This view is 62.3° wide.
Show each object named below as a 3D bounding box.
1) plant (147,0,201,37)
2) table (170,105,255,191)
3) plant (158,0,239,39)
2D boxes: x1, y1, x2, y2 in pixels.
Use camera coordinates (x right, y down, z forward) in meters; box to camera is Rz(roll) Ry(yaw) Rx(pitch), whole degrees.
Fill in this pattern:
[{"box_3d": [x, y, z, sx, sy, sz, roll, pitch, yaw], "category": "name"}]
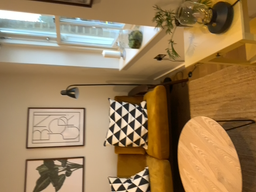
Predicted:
[{"box_3d": [0.260, -0.450, 1.230, 0.180, 0.250, 0.130, 160, 110, -72], "category": "plant"}, {"box_3d": [0.740, 0.560, 1.760, 0.800, 0.360, 0.810, 137, 131, -67], "category": "table"}, {"box_3d": [0.320, -0.410, 0.990, 0.180, 0.310, 0.200, 167, 104, -72], "category": "plant"}]
